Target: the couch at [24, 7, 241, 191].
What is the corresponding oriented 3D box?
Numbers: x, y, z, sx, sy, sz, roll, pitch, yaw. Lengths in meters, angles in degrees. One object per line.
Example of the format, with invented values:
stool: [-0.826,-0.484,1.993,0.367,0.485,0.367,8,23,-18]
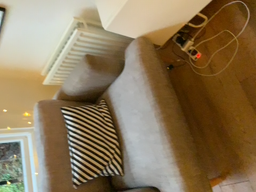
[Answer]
couch: [-0.110,0.250,1.500,1.060,0.800,1.000,-40,60,40]
